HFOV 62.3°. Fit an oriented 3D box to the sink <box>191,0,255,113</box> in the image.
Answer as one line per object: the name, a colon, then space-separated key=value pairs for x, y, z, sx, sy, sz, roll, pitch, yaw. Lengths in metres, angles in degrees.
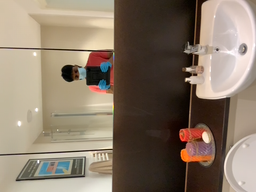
sink: x=0.530 y=-0.240 z=1.070 sx=0.460 sy=0.180 sz=0.560 roll=-141 pitch=52 yaw=-76
